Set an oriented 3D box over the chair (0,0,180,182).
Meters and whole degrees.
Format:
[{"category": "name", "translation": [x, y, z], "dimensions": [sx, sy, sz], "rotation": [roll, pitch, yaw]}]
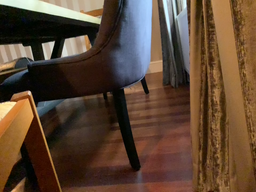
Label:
[{"category": "chair", "translation": [-0.110, -0.310, 1.460], "dimensions": [0.660, 0.920, 1.480], "rotation": [-8, 15, 10]}]
